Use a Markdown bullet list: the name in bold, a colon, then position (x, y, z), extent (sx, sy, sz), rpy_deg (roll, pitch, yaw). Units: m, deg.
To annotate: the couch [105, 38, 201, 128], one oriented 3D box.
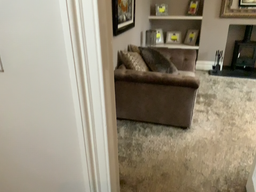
- **couch**: position (0.500, -0.360, 3.330), extent (1.100, 0.730, 1.750), rpy_deg (6, 26, 15)
